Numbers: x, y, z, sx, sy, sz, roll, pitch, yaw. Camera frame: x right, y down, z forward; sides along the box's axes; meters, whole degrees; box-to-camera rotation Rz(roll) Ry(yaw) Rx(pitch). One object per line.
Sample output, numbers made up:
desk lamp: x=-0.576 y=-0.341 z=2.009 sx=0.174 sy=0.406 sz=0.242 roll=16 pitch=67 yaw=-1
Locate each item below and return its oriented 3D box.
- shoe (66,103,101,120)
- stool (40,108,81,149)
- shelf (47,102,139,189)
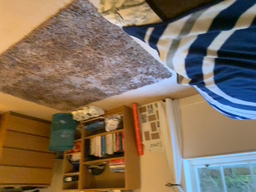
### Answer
shoe: x=-0.630 y=0.230 z=3.000 sx=0.460 sy=0.100 sz=0.230 roll=-17 pitch=153 yaw=33
stool: x=-1.000 y=0.500 z=3.170 sx=0.400 sy=0.480 sz=0.370 roll=-17 pitch=153 yaw=33
shelf: x=-0.560 y=0.800 z=3.160 sx=1.450 sy=1.050 sz=0.330 roll=-17 pitch=153 yaw=33
